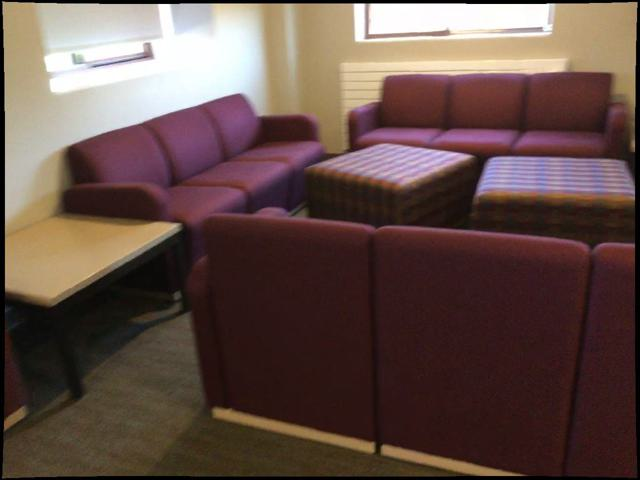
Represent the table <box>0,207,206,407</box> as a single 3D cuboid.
[{"bbox_3d":[-1.137,0.241,2.690,0.778,0.461,0.860,6,26,24],"label":"table"}]
